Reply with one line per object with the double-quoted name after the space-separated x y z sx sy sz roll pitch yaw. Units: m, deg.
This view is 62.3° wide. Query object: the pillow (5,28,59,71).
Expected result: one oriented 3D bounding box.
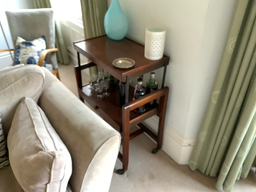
-1.100 -0.510 2.430 0.450 0.400 0.130 -30 62 30 "pillow"
